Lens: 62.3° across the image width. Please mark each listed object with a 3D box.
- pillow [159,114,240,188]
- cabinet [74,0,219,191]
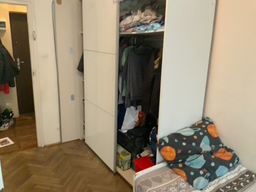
[{"bbox_3d":[0.620,0.440,1.870,0.540,0.390,0.390,-8,18,-33],"label":"pillow"},{"bbox_3d":[-0.020,-0.170,2.670,0.620,2.160,1.880,-8,18,-33],"label":"cabinet"}]
